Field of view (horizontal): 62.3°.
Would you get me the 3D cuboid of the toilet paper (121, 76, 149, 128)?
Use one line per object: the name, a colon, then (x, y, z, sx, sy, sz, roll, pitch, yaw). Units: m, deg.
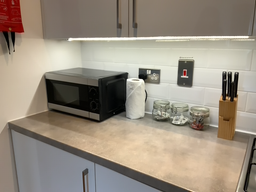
toilet paper: (0.040, 0.030, 1.250, 0.110, 0.270, 0.130, 10, 17, 33)
